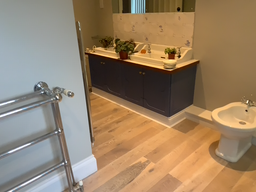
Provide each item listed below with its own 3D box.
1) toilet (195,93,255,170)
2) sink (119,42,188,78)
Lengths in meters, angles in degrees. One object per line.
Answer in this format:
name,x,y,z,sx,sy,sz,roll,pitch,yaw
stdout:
toilet,1.030,0.300,2.060,0.640,0.400,0.410,-22,30,-38
sink,0.300,-0.480,2.670,0.450,0.260,0.730,-21,30,-38
